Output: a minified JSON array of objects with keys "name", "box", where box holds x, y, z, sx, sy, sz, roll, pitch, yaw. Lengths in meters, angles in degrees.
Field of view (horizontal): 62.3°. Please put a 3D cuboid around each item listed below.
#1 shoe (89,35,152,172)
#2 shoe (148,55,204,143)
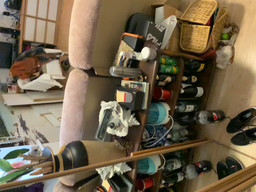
[{"name":"shoe","box":[-0.070,0.030,1.370,0.340,0.150,0.790,15,102,50]},{"name":"shoe","box":[0.360,0.020,1.610,0.180,0.270,0.610,20,105,49]}]
